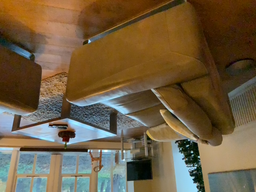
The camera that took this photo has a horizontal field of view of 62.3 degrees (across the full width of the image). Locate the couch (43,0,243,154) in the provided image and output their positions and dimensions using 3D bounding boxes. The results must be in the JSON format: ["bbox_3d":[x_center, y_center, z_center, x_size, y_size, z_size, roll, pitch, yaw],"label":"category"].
[{"bbox_3d":[0.330,0.020,2.120,1.160,0.790,1.780,-15,153,28],"label":"couch"}]
